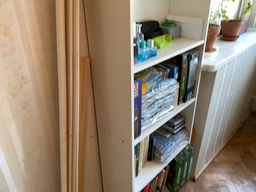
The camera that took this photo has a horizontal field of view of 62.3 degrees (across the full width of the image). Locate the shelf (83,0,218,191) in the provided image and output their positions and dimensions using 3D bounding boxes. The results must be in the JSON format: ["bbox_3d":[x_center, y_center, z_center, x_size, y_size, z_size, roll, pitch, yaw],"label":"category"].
[{"bbox_3d":[0.140,-0.070,1.130,0.260,1.810,0.640,24,37,36],"label":"shelf"}]
